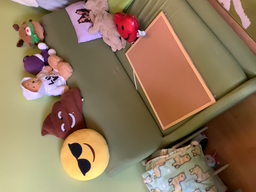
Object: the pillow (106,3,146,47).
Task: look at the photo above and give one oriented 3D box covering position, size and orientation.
[{"bbox_3d":[-0.020,-0.450,1.370,0.190,0.110,0.180,-44,67,45],"label":"pillow"}]
